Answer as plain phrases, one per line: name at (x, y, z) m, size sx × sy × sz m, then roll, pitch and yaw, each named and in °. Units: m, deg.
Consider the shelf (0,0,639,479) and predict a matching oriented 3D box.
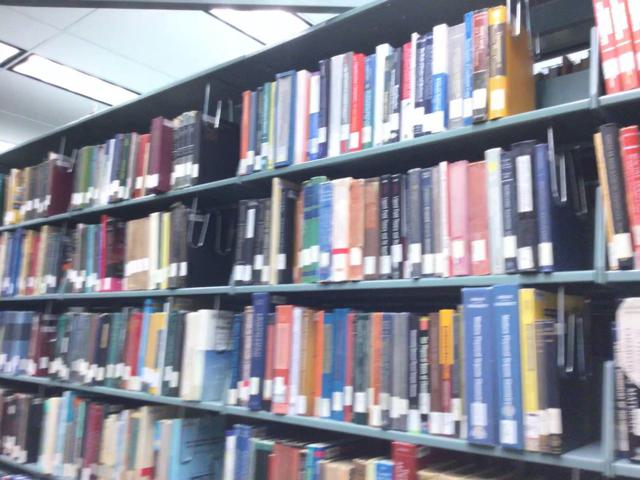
shelf at (-0.010, 0.720, 1.780) m, size 3.860 × 2.720 × 1.490 m, roll -8°, pitch -17°, yaw 36°
